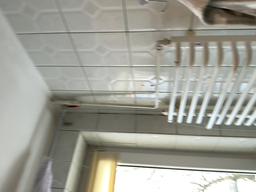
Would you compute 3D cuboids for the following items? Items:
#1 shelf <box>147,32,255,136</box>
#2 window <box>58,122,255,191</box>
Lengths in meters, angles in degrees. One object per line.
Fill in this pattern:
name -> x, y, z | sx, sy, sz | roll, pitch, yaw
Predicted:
shelf -> 0.730, -0.010, 0.970 | 0.570, 1.270, 0.170 | 81, -168, -55
window -> 0.370, 0.490, 1.240 | 0.230, 1.470, 0.580 | 81, -168, -55
